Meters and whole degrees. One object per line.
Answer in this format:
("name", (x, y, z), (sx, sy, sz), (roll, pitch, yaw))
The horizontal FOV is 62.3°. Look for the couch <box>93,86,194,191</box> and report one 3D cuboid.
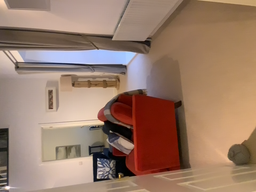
("couch", (0.080, 0.530, 2.900), (1.280, 0.910, 1.090), (151, 116, -72))
